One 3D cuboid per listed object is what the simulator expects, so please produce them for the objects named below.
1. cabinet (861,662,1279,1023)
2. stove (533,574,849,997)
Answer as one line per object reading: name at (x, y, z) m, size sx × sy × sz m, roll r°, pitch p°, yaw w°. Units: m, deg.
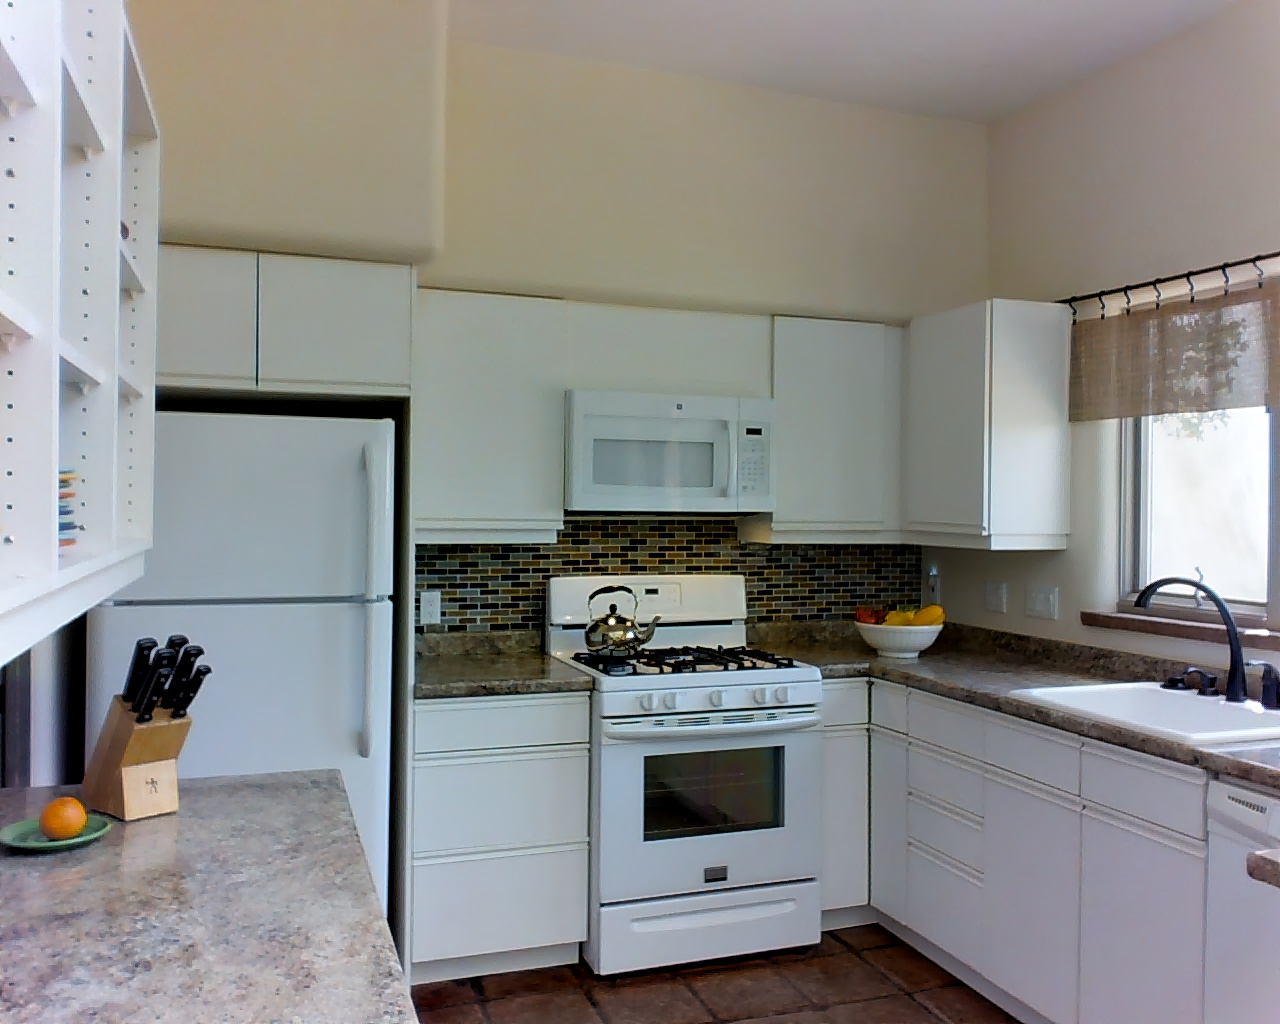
cabinet at (1.110, 0.980, 2.710) m, size 0.050 × 0.940 × 1.980 m, roll 1°, pitch 0°, yaw -20°
stove at (0.140, 0.830, 3.650) m, size 0.830 × 1.190 × 0.770 m, roll 1°, pitch 0°, yaw -20°
